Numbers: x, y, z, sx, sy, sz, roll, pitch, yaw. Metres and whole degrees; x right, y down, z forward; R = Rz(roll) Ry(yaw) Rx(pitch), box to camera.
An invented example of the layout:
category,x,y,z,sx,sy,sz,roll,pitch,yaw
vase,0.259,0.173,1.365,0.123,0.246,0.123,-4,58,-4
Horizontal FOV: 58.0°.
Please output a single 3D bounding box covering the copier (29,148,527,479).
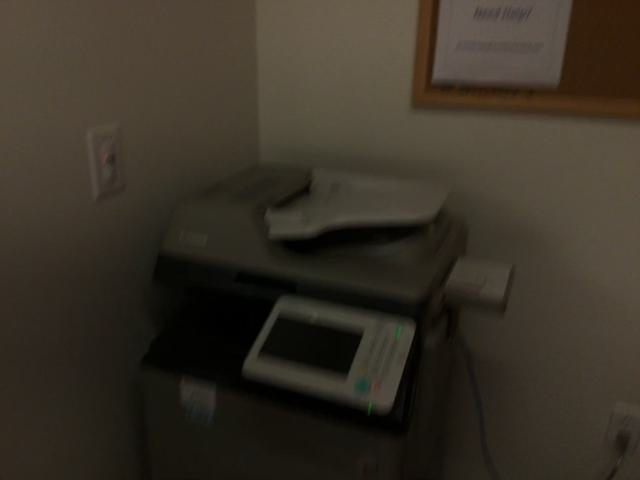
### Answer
category,x,y,z,sx,sy,sz,roll,pitch,yaw
copier,-0.030,0.410,1.300,0.740,1.060,0.670,10,21,21
